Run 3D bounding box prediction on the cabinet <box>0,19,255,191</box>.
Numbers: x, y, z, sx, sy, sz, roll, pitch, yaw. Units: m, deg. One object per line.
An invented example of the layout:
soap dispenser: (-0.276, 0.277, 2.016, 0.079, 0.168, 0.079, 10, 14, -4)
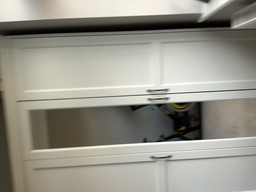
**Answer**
cabinet: (0.160, 0.130, 1.660, 0.640, 1.910, 1.210, -123, 29, -83)
